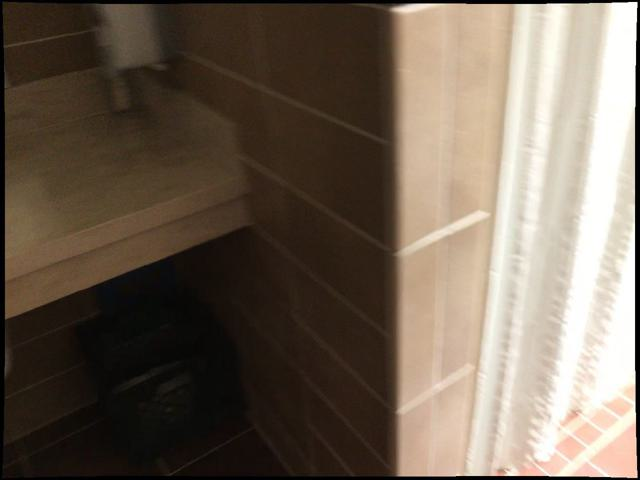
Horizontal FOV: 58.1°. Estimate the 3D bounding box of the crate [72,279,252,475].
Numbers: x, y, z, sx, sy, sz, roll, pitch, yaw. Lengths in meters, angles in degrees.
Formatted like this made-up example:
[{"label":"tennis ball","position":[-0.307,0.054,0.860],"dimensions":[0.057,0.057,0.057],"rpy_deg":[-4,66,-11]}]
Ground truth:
[{"label":"crate","position":[-0.459,0.381,1.690],"dimensions":[0.350,0.291,0.350],"rpy_deg":[-25,37,-25]}]
